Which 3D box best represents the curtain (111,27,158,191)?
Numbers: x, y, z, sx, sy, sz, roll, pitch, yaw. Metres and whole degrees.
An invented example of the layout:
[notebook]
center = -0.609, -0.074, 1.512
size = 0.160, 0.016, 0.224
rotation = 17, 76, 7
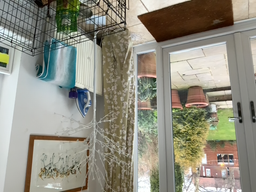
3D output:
[curtain]
center = 0.080, 0.330, 2.440
size = 0.450, 2.270, 0.210
rotation = -5, 166, 23
